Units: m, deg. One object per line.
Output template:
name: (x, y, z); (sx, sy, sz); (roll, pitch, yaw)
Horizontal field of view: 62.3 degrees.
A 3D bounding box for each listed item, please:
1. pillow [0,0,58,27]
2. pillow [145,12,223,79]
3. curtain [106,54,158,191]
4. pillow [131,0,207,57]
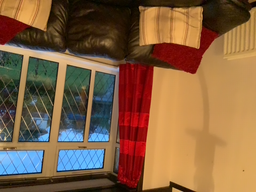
pillow: (-0.920, -0.780, 1.720); (0.600, 0.370, 0.150); (-12, -175, -41)
pillow: (0.550, -0.500, 2.200); (0.670, 0.530, 0.460); (5, 176, 10)
curtain: (0.060, 0.350, 2.910); (0.400, 1.730, 0.380); (9, 175, -37)
pillow: (0.380, -0.640, 2.000); (0.610, 0.350, 0.120); (-17, -169, 18)
